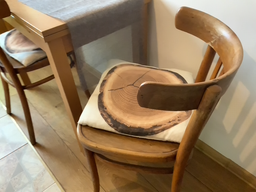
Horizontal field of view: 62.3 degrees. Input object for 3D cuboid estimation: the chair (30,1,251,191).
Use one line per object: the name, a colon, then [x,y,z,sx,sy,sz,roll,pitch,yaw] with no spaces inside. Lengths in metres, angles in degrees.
chair: [0.080,0.100,0.840,0.470,0.750,0.440,10,44,15]

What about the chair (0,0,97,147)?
chair: [-0.550,-0.200,1.210,0.470,0.770,0.420,-34,50,-30]
